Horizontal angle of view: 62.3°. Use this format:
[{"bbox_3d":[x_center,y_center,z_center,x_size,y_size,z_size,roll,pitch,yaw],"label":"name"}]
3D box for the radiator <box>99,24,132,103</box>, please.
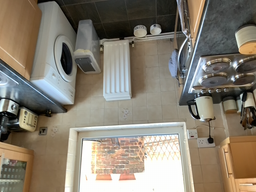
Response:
[{"bbox_3d":[-0.140,-0.380,2.370,0.320,0.900,0.130,-4,159,6],"label":"radiator"}]
